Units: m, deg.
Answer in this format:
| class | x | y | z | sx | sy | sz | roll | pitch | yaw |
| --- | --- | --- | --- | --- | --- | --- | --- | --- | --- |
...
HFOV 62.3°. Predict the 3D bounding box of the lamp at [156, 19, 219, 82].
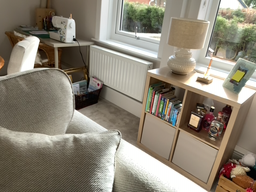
| class | x | y | z | sx | sy | sz | roll | pitch | yaw |
| --- | --- | --- | --- | --- | --- | --- | --- | --- | --- |
| lamp | 0.510 | -0.410 | 1.860 | 0.330 | 0.450 | 0.300 | 27 | 30 | 38 |
